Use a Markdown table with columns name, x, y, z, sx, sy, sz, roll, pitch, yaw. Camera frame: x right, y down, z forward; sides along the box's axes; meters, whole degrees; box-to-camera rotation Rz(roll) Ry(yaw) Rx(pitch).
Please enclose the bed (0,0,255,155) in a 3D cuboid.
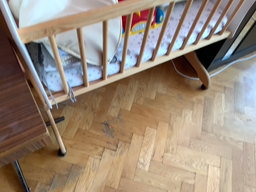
| name | x | y | z | sx | sy | sz | roll | pitch | yaw |
| --- | --- | --- | --- | --- | --- | --- | --- | --- | --- |
| bed | 0.010 | -0.280 | 1.070 | 0.950 | 0.830 | 0.550 | -23 | 64 | -18 |
